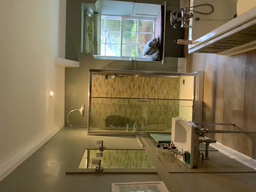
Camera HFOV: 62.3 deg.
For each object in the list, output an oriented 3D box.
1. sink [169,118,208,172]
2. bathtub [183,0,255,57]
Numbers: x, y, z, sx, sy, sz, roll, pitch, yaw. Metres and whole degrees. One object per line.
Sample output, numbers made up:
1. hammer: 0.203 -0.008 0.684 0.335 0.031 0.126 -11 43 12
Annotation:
1. sink: 0.690 0.540 2.530 0.720 0.170 0.440 -149 61 -83
2. bathtub: 1.210 -1.030 2.160 1.890 0.610 0.950 -158 70 -84
